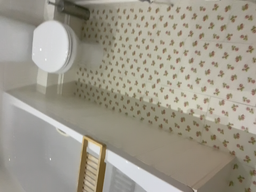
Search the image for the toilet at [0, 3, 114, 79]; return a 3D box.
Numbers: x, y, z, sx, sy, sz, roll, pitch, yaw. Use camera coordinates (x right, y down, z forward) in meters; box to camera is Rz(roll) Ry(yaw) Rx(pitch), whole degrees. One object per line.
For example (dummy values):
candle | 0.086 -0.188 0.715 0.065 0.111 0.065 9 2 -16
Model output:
toilet | -0.620 -0.380 1.620 0.620 0.760 0.360 16 101 39
